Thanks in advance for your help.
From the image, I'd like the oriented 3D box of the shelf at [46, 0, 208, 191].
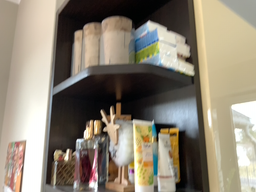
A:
[{"bbox_3d":[-0.020,0.090,0.490,0.220,0.730,0.290,10,-17,-37],"label":"shelf"}]
